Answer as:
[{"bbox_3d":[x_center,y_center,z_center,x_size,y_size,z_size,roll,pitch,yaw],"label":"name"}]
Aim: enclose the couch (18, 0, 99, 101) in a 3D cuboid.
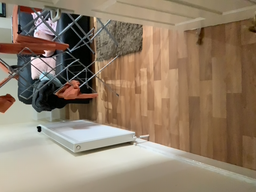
[{"bbox_3d":[-1.040,-0.670,3.120,0.830,0.870,1.430,-2,90,56],"label":"couch"}]
